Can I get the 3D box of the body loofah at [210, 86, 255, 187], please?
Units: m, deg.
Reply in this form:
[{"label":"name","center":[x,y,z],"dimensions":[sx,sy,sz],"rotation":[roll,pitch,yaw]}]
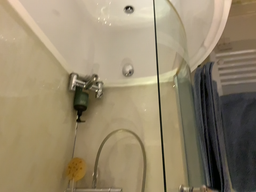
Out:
[{"label":"body loofah","center":[0.690,0.180,1.030],"dimensions":[0.470,0.480,0.090],"rotation":[-4,-27,8]}]
